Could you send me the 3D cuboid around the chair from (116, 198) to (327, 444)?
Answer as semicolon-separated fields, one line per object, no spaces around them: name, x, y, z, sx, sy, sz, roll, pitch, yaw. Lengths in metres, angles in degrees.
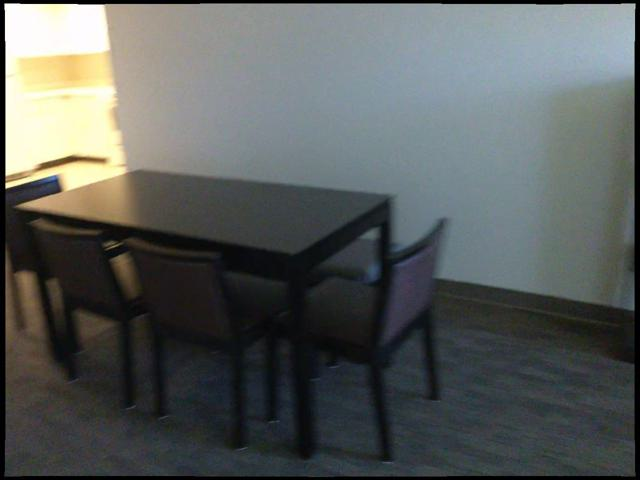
chair;-0.359;0.281;2.320;0.549;0.721;0.520;10;26;31

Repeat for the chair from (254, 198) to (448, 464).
chair;0.140;0.301;2.160;0.519;0.751;0.470;10;26;31
